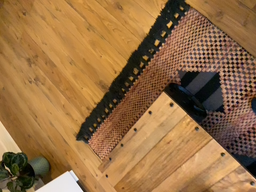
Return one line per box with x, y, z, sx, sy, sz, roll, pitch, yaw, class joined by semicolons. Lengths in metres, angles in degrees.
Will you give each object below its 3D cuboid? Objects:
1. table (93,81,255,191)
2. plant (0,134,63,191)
0.500;0.620;1.080;1.300;0.360;0.650;45;118;15;table
-0.950;0.680;1.820;0.380;0.510;0.430;43;118;16;plant
